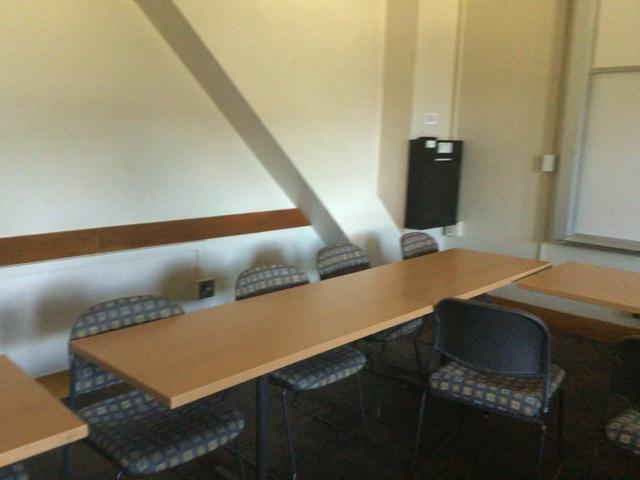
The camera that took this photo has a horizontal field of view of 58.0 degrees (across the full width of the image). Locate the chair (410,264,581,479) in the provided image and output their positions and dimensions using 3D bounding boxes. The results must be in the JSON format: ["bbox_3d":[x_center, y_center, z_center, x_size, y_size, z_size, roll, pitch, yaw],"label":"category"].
[{"bbox_3d":[0.710,0.510,2.320,0.520,0.680,0.500,7,12,28],"label":"chair"}]

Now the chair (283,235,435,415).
[{"bbox_3d":[0.200,0.390,2.990,0.610,0.710,0.480,-10,15,-43],"label":"chair"}]

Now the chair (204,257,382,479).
[{"bbox_3d":[-0.120,0.500,2.480,0.550,0.710,0.500,11,15,42],"label":"chair"}]

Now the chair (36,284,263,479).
[{"bbox_3d":[-0.560,0.580,1.940,0.540,0.690,0.500,11,15,42],"label":"chair"}]
